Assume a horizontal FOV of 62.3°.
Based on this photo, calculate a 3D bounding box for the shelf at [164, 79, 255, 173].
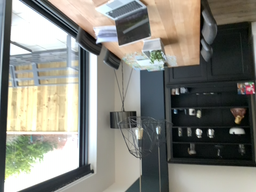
[{"bbox_3d":[1.400,0.500,3.650,1.450,1.420,0.390,-3,173,19],"label":"shelf"}]

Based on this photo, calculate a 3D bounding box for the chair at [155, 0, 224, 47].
[{"bbox_3d":[0.560,-0.970,1.980,0.530,0.820,0.490,-3,173,20],"label":"chair"}]

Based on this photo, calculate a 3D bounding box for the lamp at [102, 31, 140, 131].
[{"bbox_3d":[-0.130,-0.250,4.060,0.530,1.770,0.570,-3,173,20],"label":"lamp"}]
